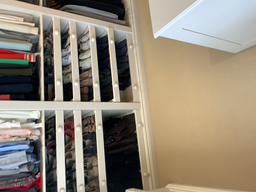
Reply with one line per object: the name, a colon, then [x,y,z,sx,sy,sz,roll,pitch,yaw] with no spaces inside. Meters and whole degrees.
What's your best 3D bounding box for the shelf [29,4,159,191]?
shelf: [-0.430,0.160,2.410,0.640,1.170,1.970,-26,66,54]
